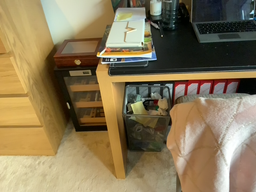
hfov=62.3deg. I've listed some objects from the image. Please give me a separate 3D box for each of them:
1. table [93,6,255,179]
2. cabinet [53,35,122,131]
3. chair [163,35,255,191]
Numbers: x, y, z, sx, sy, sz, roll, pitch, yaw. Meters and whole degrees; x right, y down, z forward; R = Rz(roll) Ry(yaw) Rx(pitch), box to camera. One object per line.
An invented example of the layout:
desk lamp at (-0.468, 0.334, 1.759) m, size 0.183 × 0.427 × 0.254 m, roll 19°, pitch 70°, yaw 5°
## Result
table at (0.640, -0.030, 1.190) m, size 1.460 × 0.710 × 0.660 m, roll -2°, pitch 38°, yaw 5°
cabinet at (-0.230, -0.070, 1.450) m, size 0.310 × 0.580 × 0.290 m, roll -2°, pitch 38°, yaw 5°
chair at (0.430, 0.200, 0.940) m, size 0.480 × 0.750 × 0.530 m, roll -2°, pitch 38°, yaw 5°
